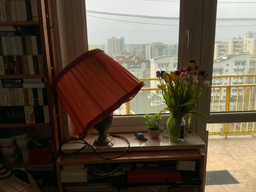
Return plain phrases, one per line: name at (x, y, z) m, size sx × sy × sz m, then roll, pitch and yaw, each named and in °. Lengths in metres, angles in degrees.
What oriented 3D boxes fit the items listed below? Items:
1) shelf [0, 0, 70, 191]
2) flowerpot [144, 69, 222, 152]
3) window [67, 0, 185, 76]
shelf at (-0.750, -0.040, 1.270) m, size 0.630 × 2.490 × 0.210 m, roll -1°, pitch 13°, yaw -1°
flowerpot at (0.330, 0.070, 1.440) m, size 0.400 × 0.460 × 0.390 m, roll -1°, pitch 13°, yaw -1°
window at (-0.010, -0.610, 1.470) m, size 0.780 × 0.910 × 0.130 m, roll -1°, pitch 13°, yaw -3°
